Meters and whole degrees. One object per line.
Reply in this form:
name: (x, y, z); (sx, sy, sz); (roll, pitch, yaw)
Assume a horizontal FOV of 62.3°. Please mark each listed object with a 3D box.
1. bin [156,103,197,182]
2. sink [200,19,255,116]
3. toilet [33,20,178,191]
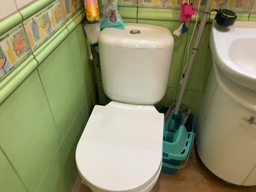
bin: (0.290, 0.270, 1.300); (0.180, 0.240, 0.390); (7, 41, 8)
sink: (0.630, -0.120, 0.840); (0.590, 0.170, 0.440); (6, 41, 7)
toilet: (-0.010, 0.150, 1.040); (0.370, 0.760, 0.700); (6, 41, 7)
